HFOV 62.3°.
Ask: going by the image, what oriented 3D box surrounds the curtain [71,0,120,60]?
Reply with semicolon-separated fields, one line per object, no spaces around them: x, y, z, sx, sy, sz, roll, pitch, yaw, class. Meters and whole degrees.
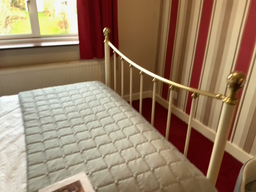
-0.360;-1.390;2.280;0.500;1.930;0.220;-13;29;-27;curtain
